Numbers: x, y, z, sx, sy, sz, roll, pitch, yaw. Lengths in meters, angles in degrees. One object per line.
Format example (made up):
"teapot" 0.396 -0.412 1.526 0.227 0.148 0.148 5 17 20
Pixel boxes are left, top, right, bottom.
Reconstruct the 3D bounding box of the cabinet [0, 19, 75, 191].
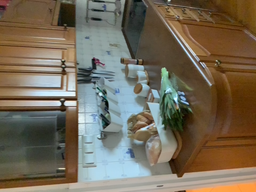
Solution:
"cabinet" -0.850 -0.060 1.300 1.260 1.010 0.330 -106 21 -47
